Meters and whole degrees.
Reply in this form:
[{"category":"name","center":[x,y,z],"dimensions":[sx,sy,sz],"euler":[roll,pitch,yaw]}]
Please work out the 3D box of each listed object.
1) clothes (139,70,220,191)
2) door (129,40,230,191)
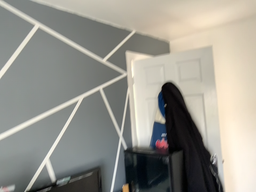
[{"category":"clothes","center":[0.430,0.320,1.780],"dimensions":[0.520,0.980,0.290],"euler":[-5,-2,30]},{"category":"door","center":[0.480,0.550,1.980],"dimensions":[0.790,1.960,0.190],"euler":[-5,-2,27]}]
